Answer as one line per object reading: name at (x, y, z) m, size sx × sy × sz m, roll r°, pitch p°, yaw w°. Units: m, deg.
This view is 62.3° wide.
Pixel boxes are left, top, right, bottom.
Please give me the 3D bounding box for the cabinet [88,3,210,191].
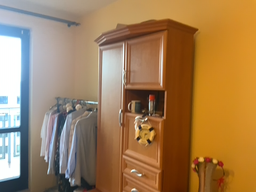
cabinet at (0.100, 0.160, 1.830) m, size 0.430 × 1.500 × 0.980 m, roll -1°, pitch 4°, yaw -39°
